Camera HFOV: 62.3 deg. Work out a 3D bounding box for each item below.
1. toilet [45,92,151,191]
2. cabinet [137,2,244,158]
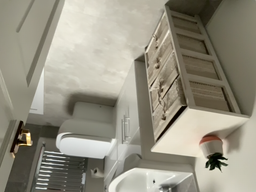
[{"bbox_3d":[-0.280,0.500,2.010,0.790,0.840,0.470,10,140,-14],"label":"toilet"},{"bbox_3d":[0.280,-0.120,1.280,0.280,0.830,0.430,10,140,-14],"label":"cabinet"}]
